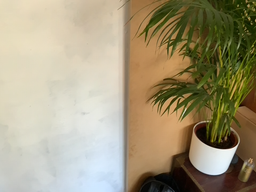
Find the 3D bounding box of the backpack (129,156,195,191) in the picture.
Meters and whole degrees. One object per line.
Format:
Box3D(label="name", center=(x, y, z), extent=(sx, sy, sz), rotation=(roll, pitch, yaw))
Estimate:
Box3D(label="backpack", center=(0.200, 0.680, 1.390), extent=(0.280, 0.390, 0.320), rotation=(-11, 34, -19))
